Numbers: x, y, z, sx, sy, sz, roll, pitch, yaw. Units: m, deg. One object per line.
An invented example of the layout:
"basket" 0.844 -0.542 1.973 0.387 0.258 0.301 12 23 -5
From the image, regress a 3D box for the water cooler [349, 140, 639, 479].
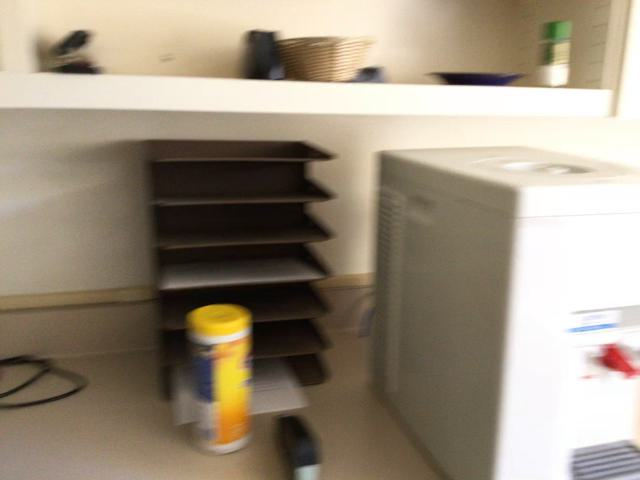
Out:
"water cooler" 0.290 0.090 0.920 0.340 0.450 0.450 -2 14 -16

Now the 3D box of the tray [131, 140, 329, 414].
"tray" -0.180 0.050 1.100 0.320 0.450 0.240 -2 14 -16
